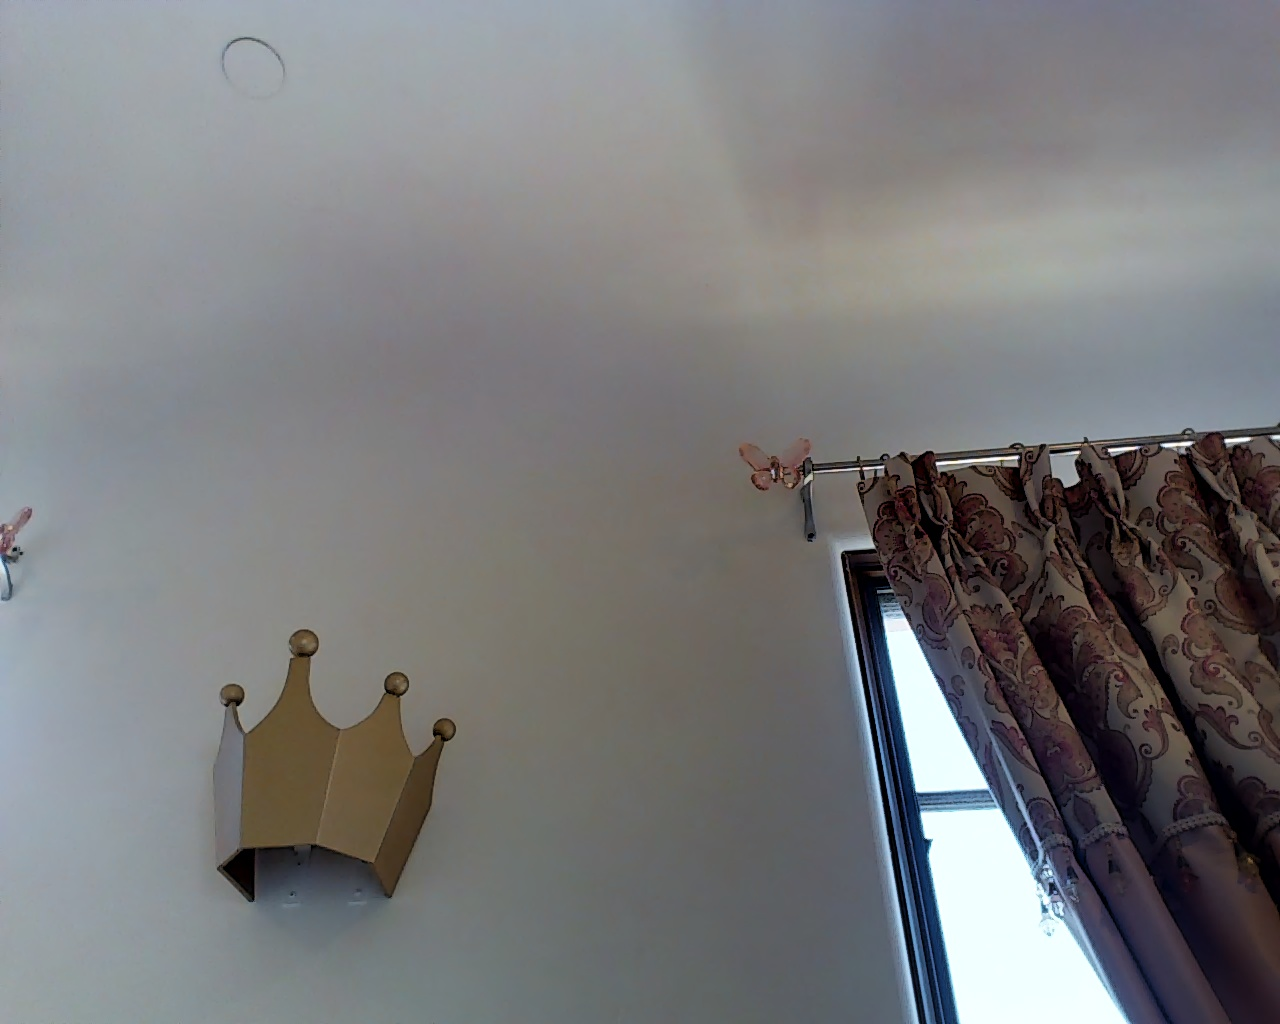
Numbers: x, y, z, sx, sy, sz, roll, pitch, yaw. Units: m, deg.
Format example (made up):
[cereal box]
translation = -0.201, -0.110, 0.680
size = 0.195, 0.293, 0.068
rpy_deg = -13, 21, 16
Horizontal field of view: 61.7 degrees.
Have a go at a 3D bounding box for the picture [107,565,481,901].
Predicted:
[picture]
translation = -0.410, 0.280, 1.370
size = 0.330, 0.330, 0.240
rpy_deg = -4, -44, 5
